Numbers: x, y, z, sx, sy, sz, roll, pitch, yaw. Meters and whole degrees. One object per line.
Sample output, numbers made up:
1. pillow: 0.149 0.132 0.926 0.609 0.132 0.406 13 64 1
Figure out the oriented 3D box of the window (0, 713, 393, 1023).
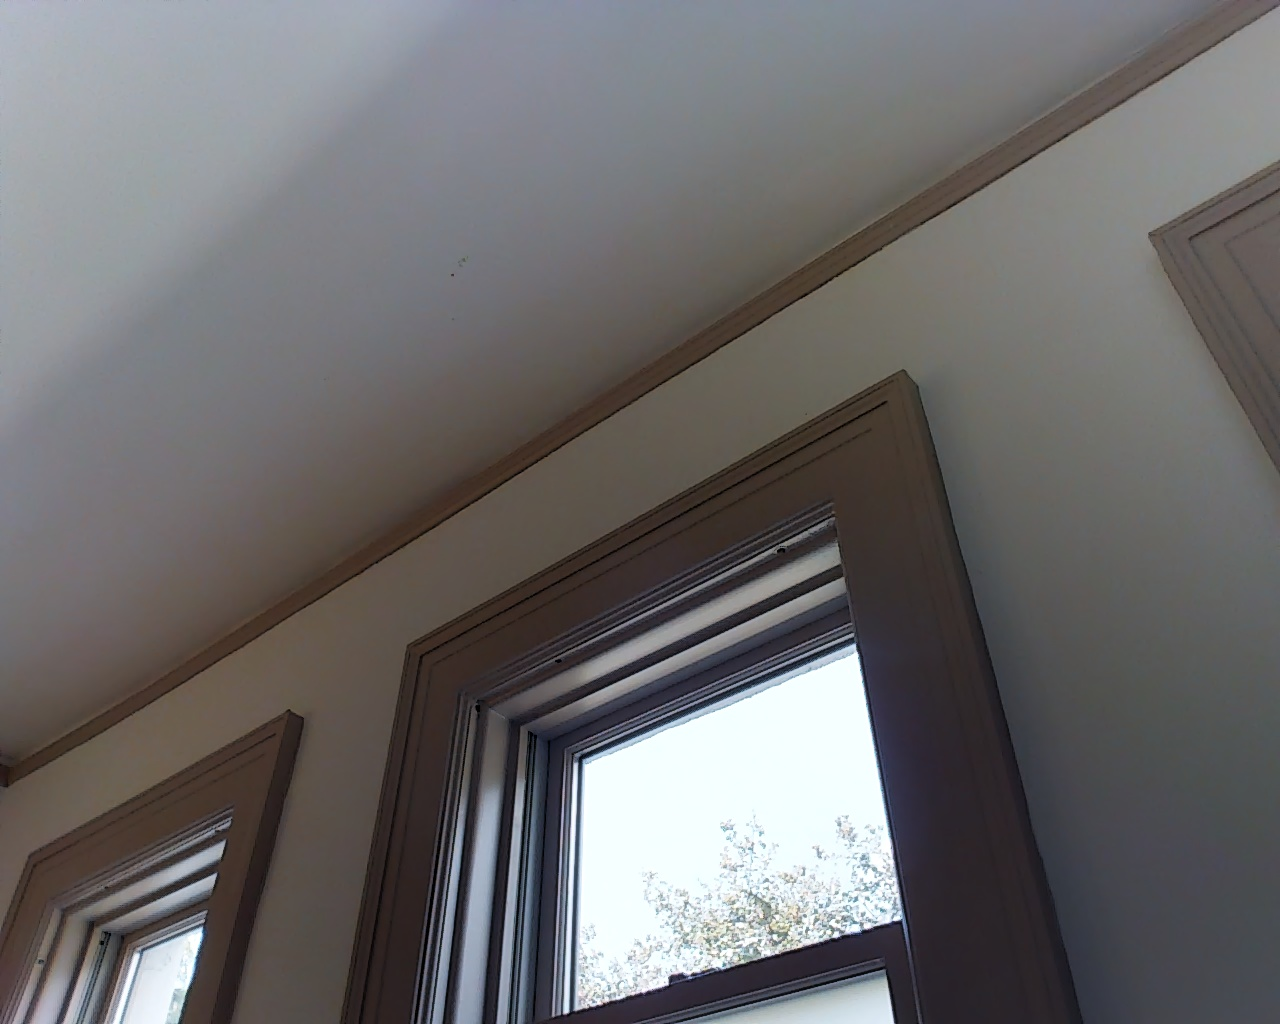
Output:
1. window: -0.820 0.980 1.630 0.810 1.130 0.240 -29 -49 28
